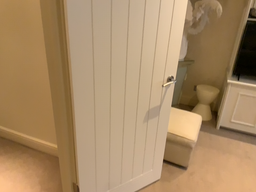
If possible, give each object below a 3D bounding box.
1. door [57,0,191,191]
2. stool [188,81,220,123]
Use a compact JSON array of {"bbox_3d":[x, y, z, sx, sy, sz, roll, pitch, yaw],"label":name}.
[{"bbox_3d":[0.010,-0.070,1.330,0.800,1.950,0.050,-13,31,-30],"label":"door"},{"bbox_3d":[1.090,0.080,3.030,0.340,0.440,0.340,12,27,18],"label":"stool"}]
